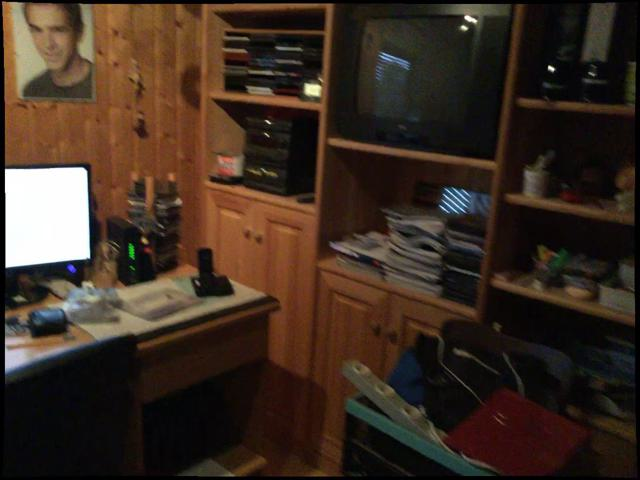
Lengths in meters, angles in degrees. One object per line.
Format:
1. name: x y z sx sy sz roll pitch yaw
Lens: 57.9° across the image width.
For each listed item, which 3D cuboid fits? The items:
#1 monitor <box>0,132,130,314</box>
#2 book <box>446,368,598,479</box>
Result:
1. monitor: -0.939 -0.040 1.740 0.590 0.440 0.220 -17 26 -28
2. book: 0.519 0.470 1.480 0.270 0.040 0.320 14 29 36
